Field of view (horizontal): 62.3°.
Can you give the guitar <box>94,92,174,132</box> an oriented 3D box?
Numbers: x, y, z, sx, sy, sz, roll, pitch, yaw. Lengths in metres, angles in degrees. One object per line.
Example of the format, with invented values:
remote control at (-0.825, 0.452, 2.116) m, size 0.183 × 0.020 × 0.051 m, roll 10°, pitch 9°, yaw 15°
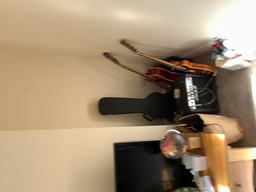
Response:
guitar at (0.070, 0.160, 2.300) m, size 0.290 × 0.800 × 0.360 m, roll 168°, pitch 99°, yaw -64°
